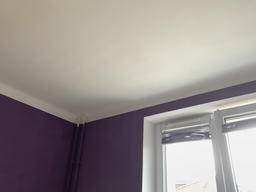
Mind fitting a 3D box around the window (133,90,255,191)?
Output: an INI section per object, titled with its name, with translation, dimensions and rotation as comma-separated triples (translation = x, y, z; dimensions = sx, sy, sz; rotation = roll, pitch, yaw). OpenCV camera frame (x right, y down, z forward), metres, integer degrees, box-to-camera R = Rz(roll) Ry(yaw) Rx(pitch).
[window]
translation = 0.810, 0.910, 1.780
dimensions = 1.700, 1.820, 0.290
rotation = -16, -33, 34
